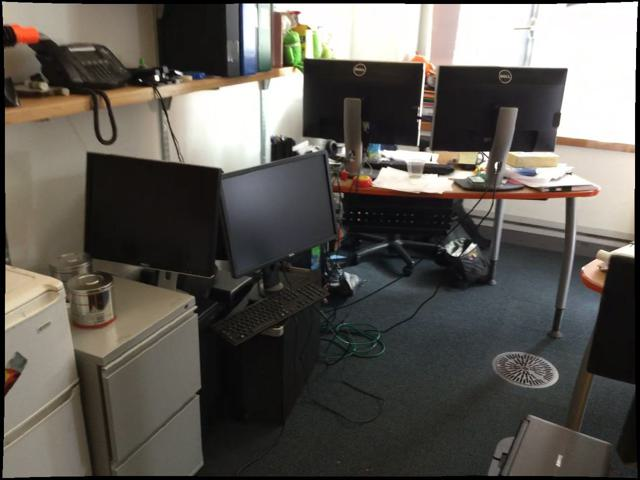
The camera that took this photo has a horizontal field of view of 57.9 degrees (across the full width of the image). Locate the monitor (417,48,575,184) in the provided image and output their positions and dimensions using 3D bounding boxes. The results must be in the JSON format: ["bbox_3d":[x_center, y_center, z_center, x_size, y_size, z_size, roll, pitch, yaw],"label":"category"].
[{"bbox_3d":[0.739,-0.541,2.430,0.520,0.440,0.410,12,25,21],"label":"monitor"}]

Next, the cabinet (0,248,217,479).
[{"bbox_3d":[-0.639,0.440,1.770,0.450,0.641,0.440,12,25,22],"label":"cabinet"}]

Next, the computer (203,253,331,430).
[{"bbox_3d":[-0.190,0.370,2.230,0.300,0.460,0.430,12,25,22],"label":"computer"}]

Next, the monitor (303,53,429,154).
[{"bbox_3d":[0.190,-0.601,2.520,0.500,0.360,0.150,12,25,21],"label":"monitor"}]
